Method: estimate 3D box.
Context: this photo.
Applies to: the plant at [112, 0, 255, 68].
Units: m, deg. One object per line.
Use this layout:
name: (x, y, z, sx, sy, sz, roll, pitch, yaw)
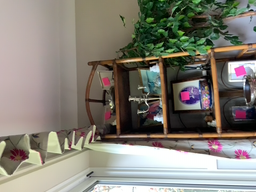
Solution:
plant: (0.760, -0.650, 1.640, 0.560, 1.670, 0.620, 12, -105, -75)
